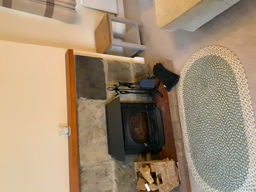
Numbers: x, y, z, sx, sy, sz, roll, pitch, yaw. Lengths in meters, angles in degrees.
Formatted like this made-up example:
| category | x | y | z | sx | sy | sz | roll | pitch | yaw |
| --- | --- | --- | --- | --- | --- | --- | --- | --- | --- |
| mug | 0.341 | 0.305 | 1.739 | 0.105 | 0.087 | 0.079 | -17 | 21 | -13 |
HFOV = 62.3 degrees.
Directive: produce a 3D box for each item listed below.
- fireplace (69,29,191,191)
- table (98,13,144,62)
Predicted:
| category | x | y | z | sx | sy | sz | roll | pitch | yaw |
| --- | --- | --- | --- | --- | --- | --- | --- | --- | --- |
| fireplace | -0.010 | 0.310 | 1.970 | 0.490 | 0.900 | 1.600 | -25 | 67 | 57 |
| table | -0.100 | -0.720 | 2.690 | 0.400 | 0.410 | 0.400 | -26 | 66 | 57 |
